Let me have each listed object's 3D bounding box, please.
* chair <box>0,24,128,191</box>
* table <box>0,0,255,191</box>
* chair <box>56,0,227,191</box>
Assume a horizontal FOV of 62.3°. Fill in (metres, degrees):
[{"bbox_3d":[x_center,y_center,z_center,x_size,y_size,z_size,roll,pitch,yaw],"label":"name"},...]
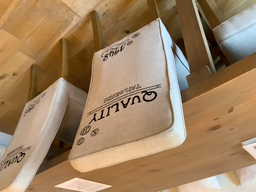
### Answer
[{"bbox_3d":[-0.410,0.180,1.320,0.450,0.970,0.640,-29,137,28],"label":"chair"},{"bbox_3d":[0.010,0.150,1.490,1.960,0.790,0.930,-30,137,28],"label":"table"},{"bbox_3d":[0.070,-0.070,1.070,0.410,0.960,0.610,-22,140,20],"label":"chair"}]
